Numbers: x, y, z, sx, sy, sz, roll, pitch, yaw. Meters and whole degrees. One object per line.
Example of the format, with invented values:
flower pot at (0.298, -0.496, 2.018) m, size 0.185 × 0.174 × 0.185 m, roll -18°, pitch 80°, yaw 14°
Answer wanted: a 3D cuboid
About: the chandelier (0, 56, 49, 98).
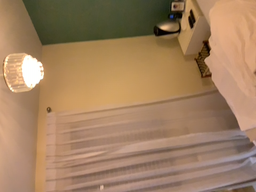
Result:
chandelier at (-0.760, -0.120, 1.390) m, size 0.190 × 0.400 × 0.170 m, roll -105°, pitch -170°, yaw -50°
